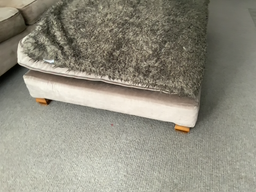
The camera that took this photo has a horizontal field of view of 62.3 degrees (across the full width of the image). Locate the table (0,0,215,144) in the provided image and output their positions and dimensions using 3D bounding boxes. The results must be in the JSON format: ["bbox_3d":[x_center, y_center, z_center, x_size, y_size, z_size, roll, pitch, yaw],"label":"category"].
[{"bbox_3d":[0.030,-0.400,1.320,0.880,0.450,1.170,10,42,16],"label":"table"}]
